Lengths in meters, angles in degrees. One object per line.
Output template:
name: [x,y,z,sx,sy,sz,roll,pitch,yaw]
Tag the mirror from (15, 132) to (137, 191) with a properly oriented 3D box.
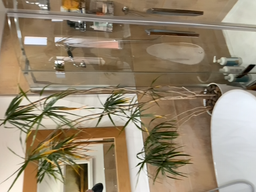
mirror: [-0.320,0.980,1.410,0.120,0.830,1.430,117,150,-63]
